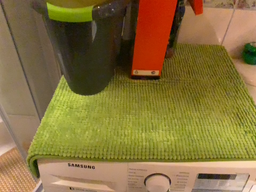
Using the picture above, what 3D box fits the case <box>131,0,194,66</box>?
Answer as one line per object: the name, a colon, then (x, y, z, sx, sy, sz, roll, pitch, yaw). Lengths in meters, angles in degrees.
case: (0.100, -0.310, 0.650, 0.140, 0.300, 0.310, 5, 43, 2)
